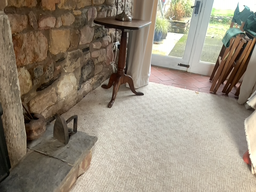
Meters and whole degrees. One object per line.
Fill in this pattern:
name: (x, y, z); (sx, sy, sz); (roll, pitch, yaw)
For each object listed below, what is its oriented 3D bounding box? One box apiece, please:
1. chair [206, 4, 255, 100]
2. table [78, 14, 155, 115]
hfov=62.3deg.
chair: (1.120, -0.520, 2.400); (0.190, 0.920, 0.650); (15, 28, 15)
table: (-0.100, -0.320, 1.950); (0.480, 0.720, 0.560); (13, 28, 13)
